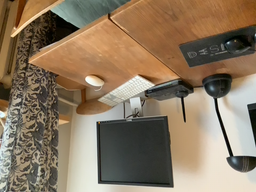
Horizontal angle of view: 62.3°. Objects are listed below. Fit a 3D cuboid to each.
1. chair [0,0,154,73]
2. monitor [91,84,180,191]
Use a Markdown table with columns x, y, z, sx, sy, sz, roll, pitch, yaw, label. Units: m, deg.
| x | y | z | sx | sy | sz | roll | pitch | yaw | label |
| --- | --- | --- | --- | --- | --- | --- | --- | --- | --- |
| -0.180 | -0.550 | 0.840 | 0.390 | 0.750 | 0.380 | -15 | 156 | 36 | chair |
| 0.010 | 0.220 | 1.150 | 0.430 | 0.480 | 0.050 | -19 | 153 | 20 | monitor |
